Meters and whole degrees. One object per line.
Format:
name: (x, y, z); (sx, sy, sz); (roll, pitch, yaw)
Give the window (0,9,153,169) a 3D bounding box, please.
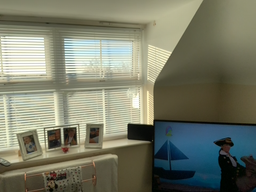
window: (-0.610, -0.070, 1.880); (1.840, 1.260, 0.060); (-4, 7, -23)
